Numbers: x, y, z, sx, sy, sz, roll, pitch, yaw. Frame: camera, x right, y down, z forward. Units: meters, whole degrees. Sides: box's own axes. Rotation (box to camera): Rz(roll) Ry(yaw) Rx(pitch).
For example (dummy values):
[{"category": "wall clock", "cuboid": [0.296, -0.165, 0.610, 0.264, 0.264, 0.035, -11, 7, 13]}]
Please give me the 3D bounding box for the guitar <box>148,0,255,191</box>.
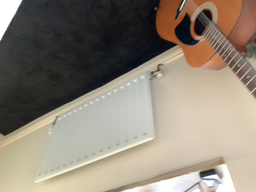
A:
[{"category": "guitar", "cuboid": [0.400, -0.190, 0.810, 0.410, 0.950, 0.470, 10, 143, -17]}]
